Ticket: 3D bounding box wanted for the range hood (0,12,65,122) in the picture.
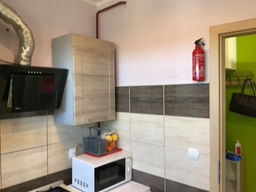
[{"bbox_3d":[-0.740,-0.180,1.550,0.260,0.670,0.460,1,1,39],"label":"range hood"}]
